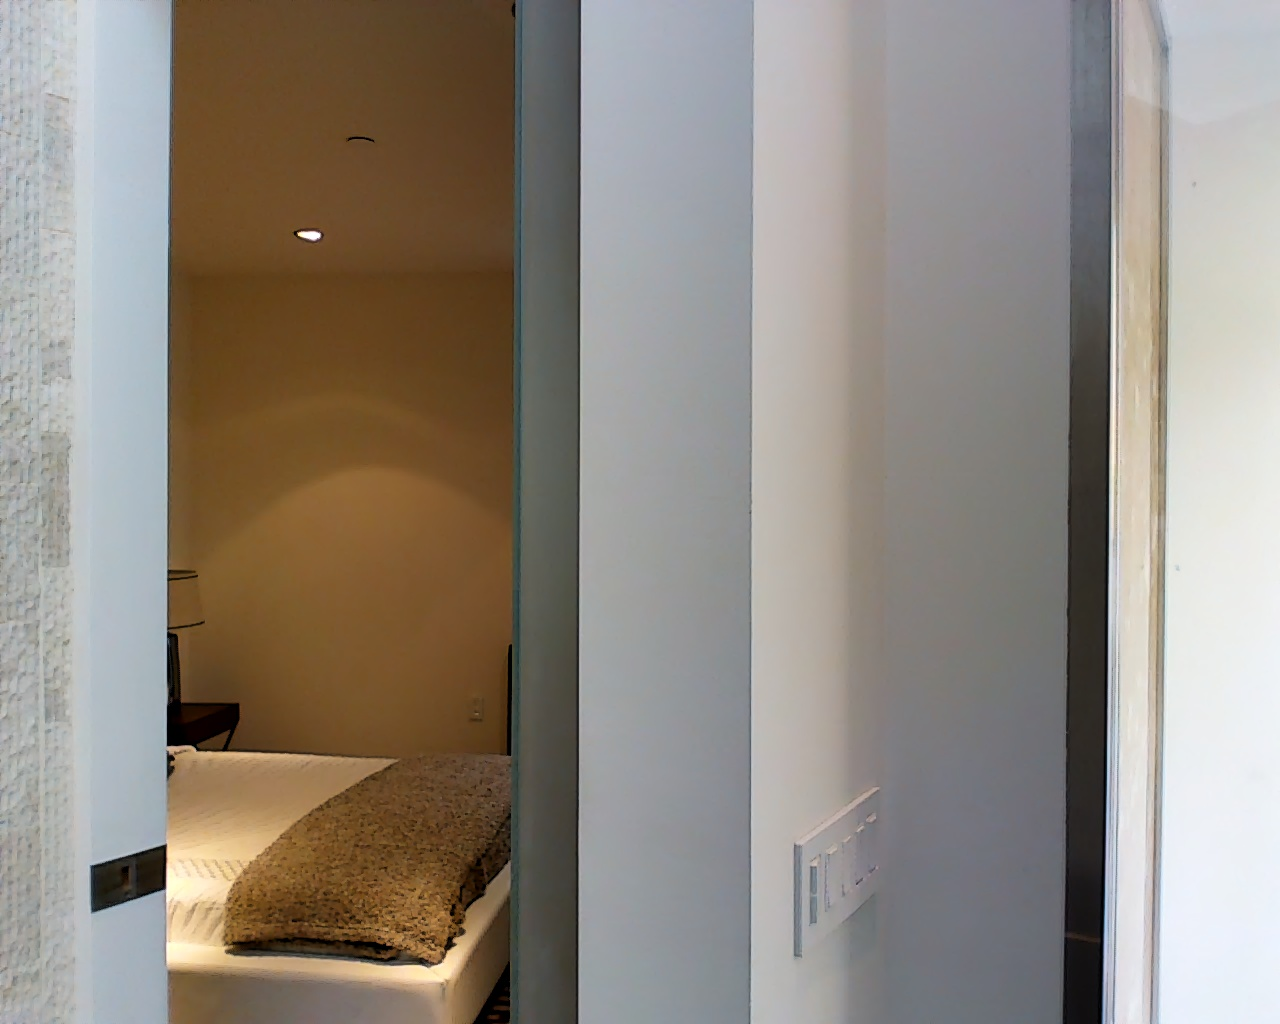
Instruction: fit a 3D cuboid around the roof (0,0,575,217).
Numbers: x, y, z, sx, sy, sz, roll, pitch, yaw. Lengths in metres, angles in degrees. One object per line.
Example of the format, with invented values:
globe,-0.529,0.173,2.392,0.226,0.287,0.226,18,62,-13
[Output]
roof,-1.190,-1.220,3.400,1.350,0.060,1.500,1,1,32
